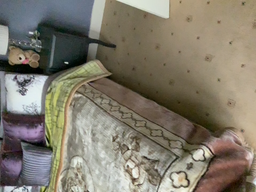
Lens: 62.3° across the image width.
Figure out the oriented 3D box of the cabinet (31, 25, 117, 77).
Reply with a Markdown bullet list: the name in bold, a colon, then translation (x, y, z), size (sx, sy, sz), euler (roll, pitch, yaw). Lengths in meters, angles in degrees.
- **cabinet**: translation (-0.570, -0.460, 2.250), size (0.420, 0.730, 0.380), euler (27, 110, 46)

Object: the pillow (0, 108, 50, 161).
- **pillow**: translation (-0.950, 0.330, 1.930), size (0.220, 0.340, 0.360), euler (18, 101, 23)

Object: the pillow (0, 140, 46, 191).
- **pillow**: translation (-1.030, 0.690, 2.010), size (0.200, 0.390, 0.420), euler (15, 99, 24)

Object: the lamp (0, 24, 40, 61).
- **lamp**: translation (-1.080, -0.500, 1.930), size (0.230, 0.440, 0.270), euler (26, 110, 46)
